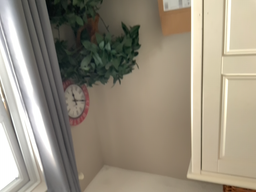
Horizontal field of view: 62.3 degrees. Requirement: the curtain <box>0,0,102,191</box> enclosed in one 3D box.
[{"bbox_3d":[-0.440,-0.030,1.160,0.320,1.440,0.230,4,-158,25],"label":"curtain"}]
